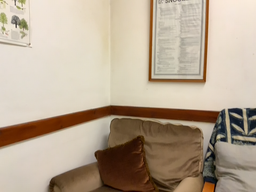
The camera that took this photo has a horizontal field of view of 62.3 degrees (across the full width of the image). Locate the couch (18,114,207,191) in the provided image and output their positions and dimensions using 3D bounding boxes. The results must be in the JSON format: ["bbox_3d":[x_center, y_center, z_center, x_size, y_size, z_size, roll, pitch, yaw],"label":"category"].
[{"bbox_3d":[0.020,0.620,1.420,0.890,0.810,0.980,2,4,23],"label":"couch"}]
